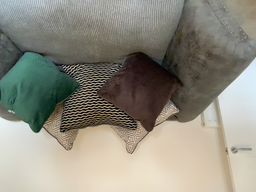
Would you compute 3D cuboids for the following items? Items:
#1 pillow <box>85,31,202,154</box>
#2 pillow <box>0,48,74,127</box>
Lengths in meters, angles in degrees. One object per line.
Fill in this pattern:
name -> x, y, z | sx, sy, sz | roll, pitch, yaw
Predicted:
pillow -> 0.100, -0.030, 1.430 | 0.510, 0.570, 0.330 | 30, 152, 8
pillow -> -0.660, -0.050, 1.380 | 0.520, 0.440, 0.250 | 0, 156, 0
